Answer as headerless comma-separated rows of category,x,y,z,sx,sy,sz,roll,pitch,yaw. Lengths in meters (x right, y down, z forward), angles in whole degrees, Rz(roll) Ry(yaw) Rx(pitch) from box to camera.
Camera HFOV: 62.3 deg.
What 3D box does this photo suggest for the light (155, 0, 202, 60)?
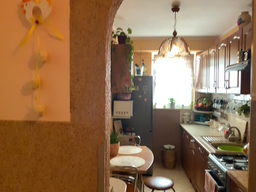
light,0.570,-0.790,2.490,0.450,0.410,0.630,-5,-88,7
